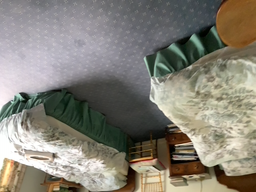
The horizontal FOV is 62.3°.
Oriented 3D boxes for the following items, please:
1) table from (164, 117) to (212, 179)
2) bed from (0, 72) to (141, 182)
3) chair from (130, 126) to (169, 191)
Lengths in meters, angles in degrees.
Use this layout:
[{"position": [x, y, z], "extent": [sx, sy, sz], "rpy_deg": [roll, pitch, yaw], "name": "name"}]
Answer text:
[{"position": [0.830, 0.740, 2.990], "extent": [0.480, 0.710, 0.380], "rpy_deg": [-16, 143, 23], "name": "table"}, {"position": [-0.780, 0.640, 2.960], "extent": [1.140, 0.580, 2.050], "rpy_deg": [-16, 143, 23], "name": "bed"}, {"position": [0.310, 0.940, 3.190], "extent": [0.420, 0.820, 0.400], "rpy_deg": [-16, 143, 23], "name": "chair"}]
